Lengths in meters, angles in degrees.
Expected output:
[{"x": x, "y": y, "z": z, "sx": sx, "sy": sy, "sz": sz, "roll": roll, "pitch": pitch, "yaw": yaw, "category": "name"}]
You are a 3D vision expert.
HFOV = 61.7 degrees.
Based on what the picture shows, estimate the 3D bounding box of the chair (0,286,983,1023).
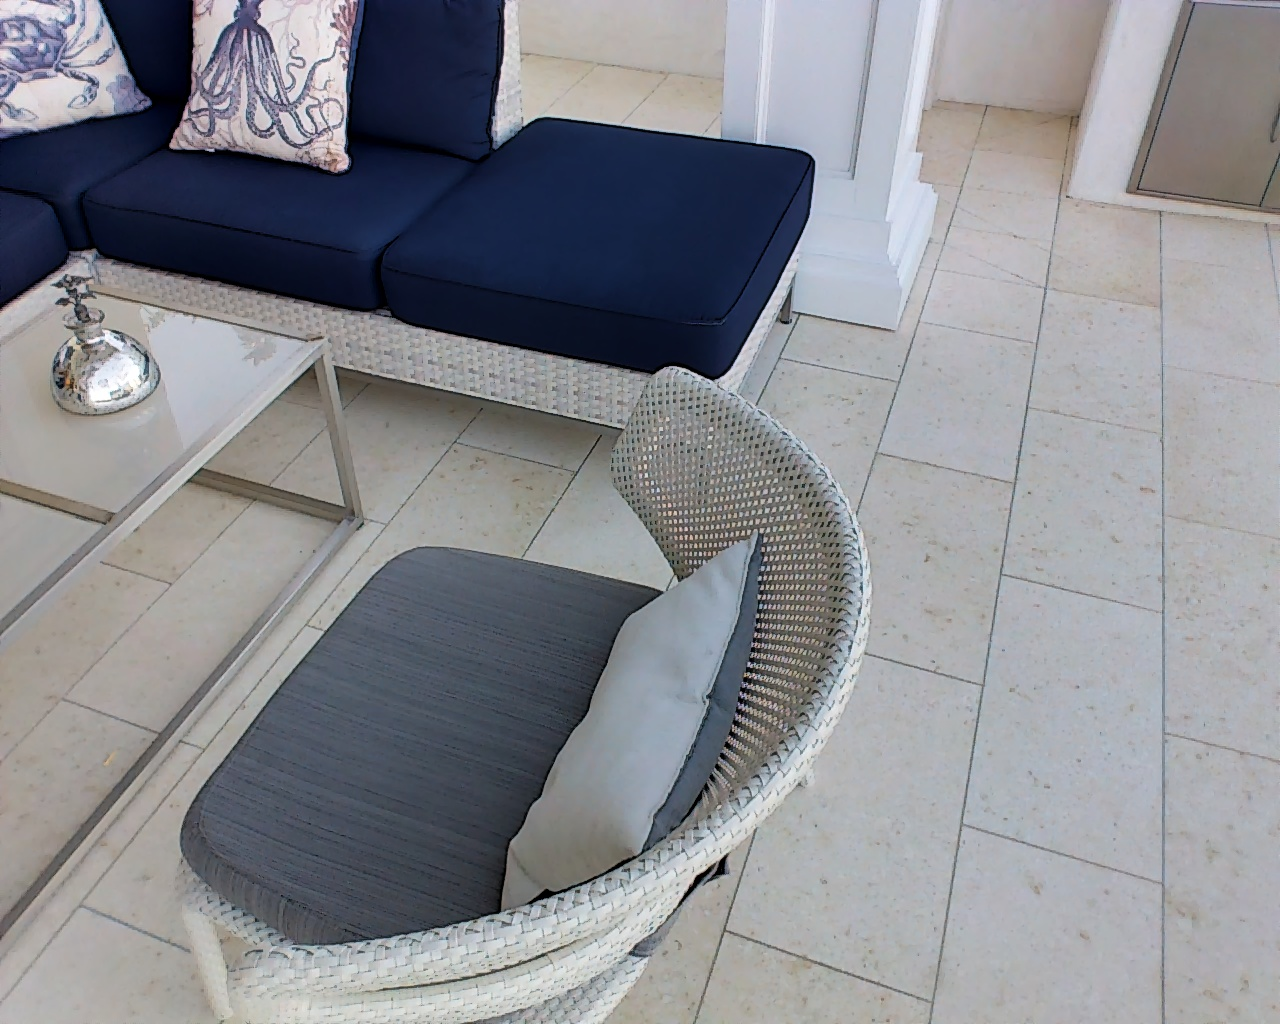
[{"x": -0.120, "y": 0.340, "z": 1.380, "sx": 0.840, "sy": 0.760, "sz": 0.960, "roll": 13, "pitch": 43, "yaw": 15, "category": "chair"}]
